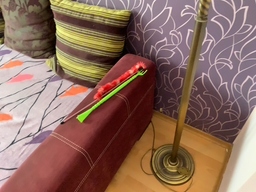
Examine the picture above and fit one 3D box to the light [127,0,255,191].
[{"bbox_3d":[0.300,-0.080,0.940,0.450,1.490,0.350,22,53,22],"label":"light"}]
